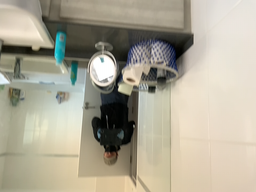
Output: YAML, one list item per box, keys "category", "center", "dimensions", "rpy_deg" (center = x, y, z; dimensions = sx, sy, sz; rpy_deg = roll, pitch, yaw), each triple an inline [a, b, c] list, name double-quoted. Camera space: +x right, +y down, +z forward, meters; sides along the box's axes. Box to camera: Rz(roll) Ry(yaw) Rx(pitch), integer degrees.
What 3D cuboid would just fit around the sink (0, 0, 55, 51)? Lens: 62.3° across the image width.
- category: "sink"
  center: [-0.690, -0.390, 1.010]
  dimensions: [0.580, 0.150, 0.430]
  rpy_deg: [3, 171, -9]
